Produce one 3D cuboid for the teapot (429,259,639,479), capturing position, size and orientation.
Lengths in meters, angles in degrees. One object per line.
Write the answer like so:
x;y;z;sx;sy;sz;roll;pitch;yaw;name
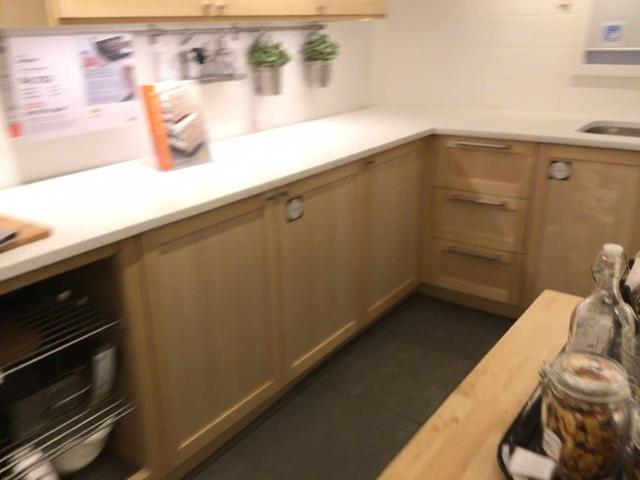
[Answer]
0.390;0.200;0.910;0.330;0.210;0.280;13;23;38;teapot
